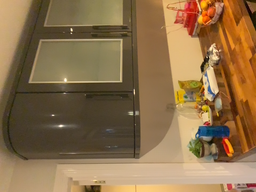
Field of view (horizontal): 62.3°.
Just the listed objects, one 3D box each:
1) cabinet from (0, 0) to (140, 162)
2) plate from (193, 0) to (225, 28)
[{"bbox_3d":[-0.370,-0.410,1.700,0.380,0.860,1.750,88,-179,-61],"label":"cabinet"},{"bbox_3d":[0.570,-0.640,1.520,0.180,0.120,0.240,88,-179,-60],"label":"plate"}]
